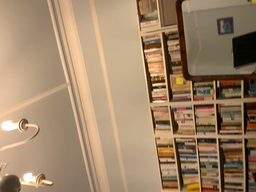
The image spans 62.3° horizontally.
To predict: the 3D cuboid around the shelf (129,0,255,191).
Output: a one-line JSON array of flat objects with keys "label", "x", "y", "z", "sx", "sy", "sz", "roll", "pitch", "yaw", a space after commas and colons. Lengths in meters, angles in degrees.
[{"label": "shelf", "x": 1.210, "y": 0.010, "z": 2.270, "sx": 0.350, "sy": 2.050, "sz": 2.460, "roll": -45, "pitch": -51, "yaw": -65}]
